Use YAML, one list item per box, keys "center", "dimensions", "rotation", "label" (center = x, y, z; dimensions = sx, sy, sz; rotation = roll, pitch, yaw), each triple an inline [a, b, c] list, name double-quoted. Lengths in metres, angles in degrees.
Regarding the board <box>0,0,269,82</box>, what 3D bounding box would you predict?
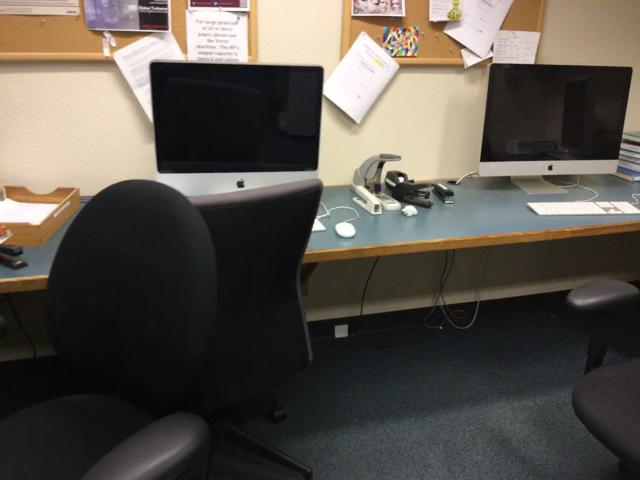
- center: [-0.650, -0.890, 1.890]
  dimensions: [0.970, 0.680, 0.110]
  rotation: [-3, 19, -20]
  label: "board"
